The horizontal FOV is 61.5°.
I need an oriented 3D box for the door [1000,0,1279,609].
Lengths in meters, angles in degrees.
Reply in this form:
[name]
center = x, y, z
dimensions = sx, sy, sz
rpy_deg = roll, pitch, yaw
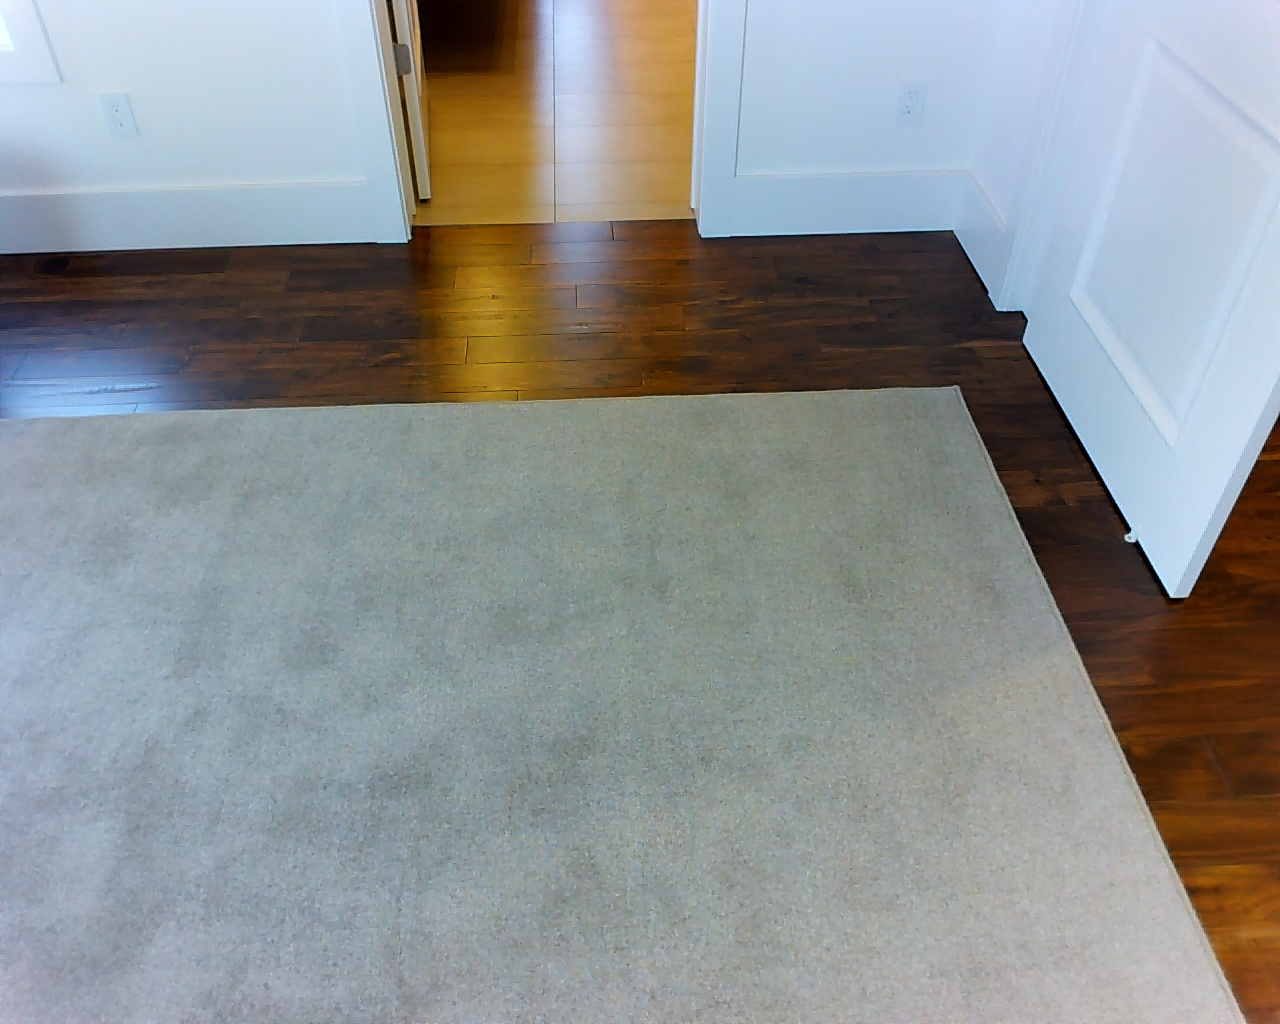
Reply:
[door]
center = 1.030, -0.930, 1.830
dimensions = 0.050, 2.060, 1.070
rpy_deg = -2, 42, -2
